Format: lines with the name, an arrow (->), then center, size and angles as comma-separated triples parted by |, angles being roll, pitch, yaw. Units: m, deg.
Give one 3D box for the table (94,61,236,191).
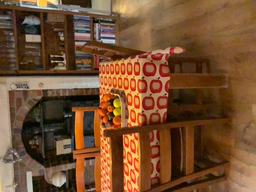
table -> 0.210, 0.610, 1.930 | 1.020, 0.750, 1.780 | -165, 75, -64
